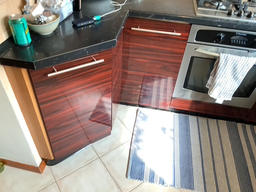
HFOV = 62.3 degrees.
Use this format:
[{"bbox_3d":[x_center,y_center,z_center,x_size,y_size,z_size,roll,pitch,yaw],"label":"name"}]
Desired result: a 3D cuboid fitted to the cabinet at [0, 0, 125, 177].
[{"bbox_3d":[-0.290,-0.030,1.330,0.400,0.870,0.620,9,43,5],"label":"cabinet"}]
